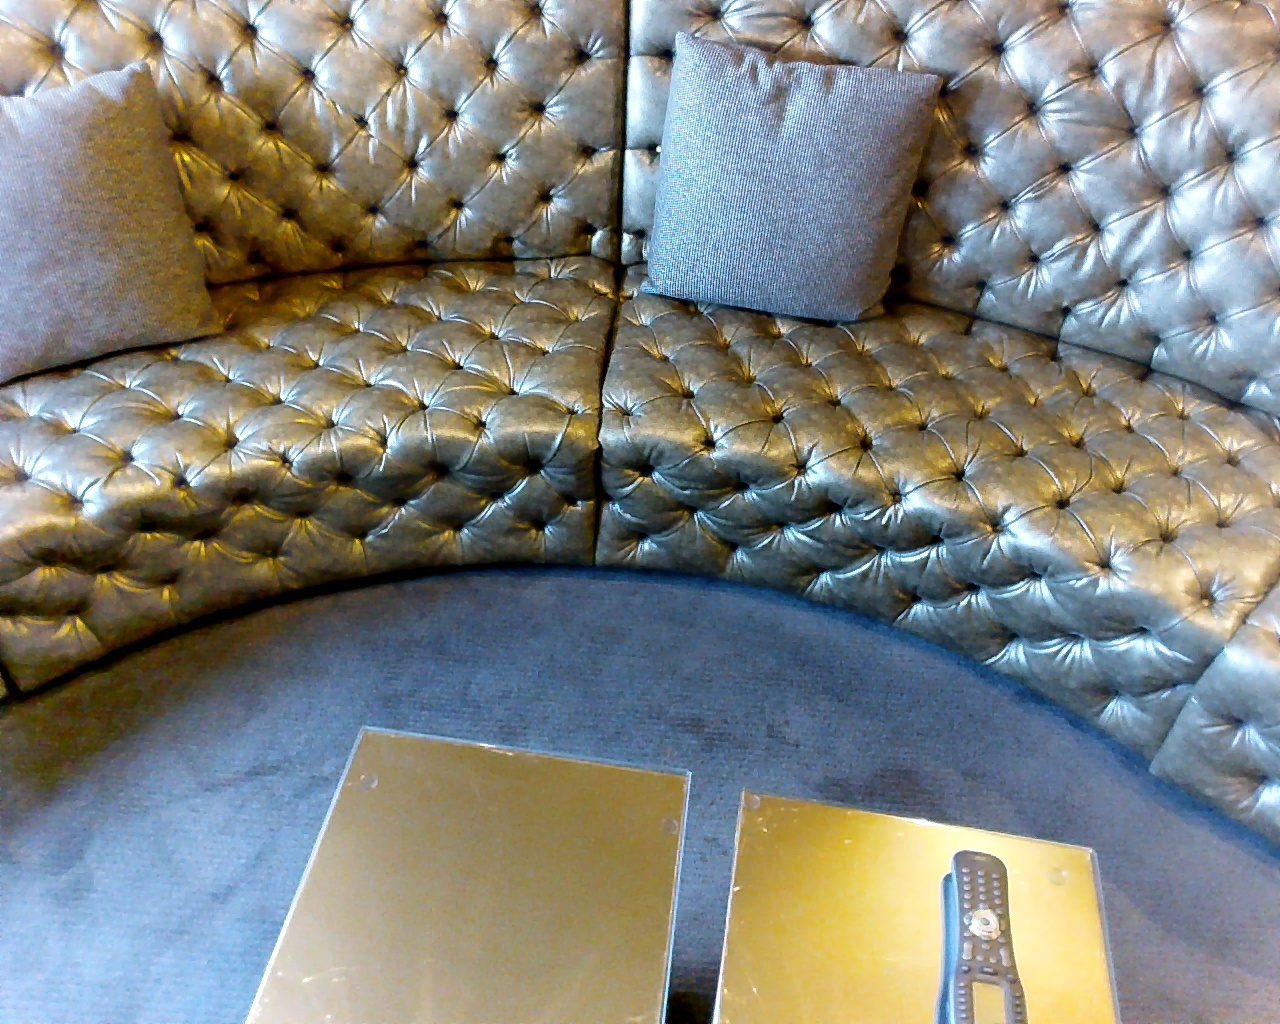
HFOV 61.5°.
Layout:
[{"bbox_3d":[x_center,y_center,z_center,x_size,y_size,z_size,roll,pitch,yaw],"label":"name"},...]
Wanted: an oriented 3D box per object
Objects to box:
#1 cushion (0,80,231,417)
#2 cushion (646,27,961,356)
[{"bbox_3d":[-1.060,-0.470,1.930,0.530,0.540,0.190,-9,31,-20],"label":"cushion"},{"bbox_3d":[0.300,-0.630,2.110,0.520,0.530,0.270,7,32,7],"label":"cushion"}]
